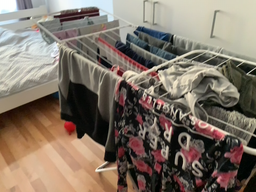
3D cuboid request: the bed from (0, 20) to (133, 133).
[{"bbox_3d":[-1.270,-0.490,2.720,1.690,0.380,2.100,-25,39,-34],"label":"bed"}]
